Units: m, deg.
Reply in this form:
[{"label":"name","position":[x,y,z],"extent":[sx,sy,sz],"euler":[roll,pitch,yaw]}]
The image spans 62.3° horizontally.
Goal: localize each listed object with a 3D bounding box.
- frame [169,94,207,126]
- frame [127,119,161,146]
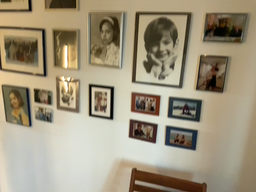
[{"label":"frame","position":[0.340,0.080,1.220],"extent":[0.190,0.150,0.030],"euler":[9,16,21]},{"label":"frame","position":[0.100,0.230,1.350],"extent":[0.210,0.130,0.030],"euler":[9,16,20]}]
